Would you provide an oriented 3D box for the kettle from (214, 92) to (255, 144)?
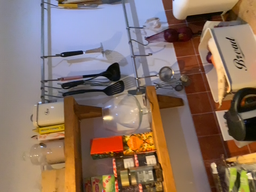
[{"bbox_3d":[0.520,0.080,0.820,0.160,0.280,0.160,90,173,-72],"label":"kettle"}]
